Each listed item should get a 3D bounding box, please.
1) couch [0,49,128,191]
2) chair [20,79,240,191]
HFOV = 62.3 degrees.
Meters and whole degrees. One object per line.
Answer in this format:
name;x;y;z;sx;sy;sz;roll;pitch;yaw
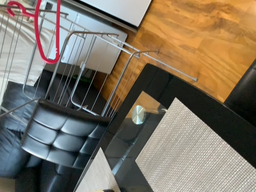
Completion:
couch;-0.880;0.480;2.280;0.950;0.900;1.490;48;119;46
chair;0.020;0.330;1.120;0.410;0.960;0.550;-56;43;27
